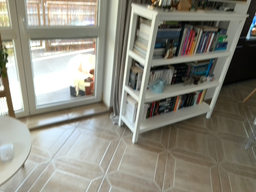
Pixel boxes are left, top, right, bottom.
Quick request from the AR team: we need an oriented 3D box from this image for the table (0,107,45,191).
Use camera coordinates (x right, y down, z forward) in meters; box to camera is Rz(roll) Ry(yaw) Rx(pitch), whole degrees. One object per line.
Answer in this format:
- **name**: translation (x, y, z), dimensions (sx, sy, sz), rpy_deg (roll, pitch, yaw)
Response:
- **table**: translation (-0.820, 0.560, 1.190), dimensions (0.580, 0.710, 0.560), rpy_deg (-12, 35, -30)
